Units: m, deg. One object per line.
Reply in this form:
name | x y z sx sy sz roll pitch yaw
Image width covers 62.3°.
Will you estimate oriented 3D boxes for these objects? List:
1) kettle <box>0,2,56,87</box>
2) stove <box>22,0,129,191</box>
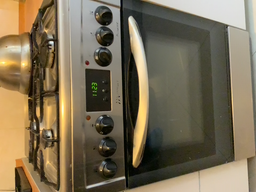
kettle | -0.420 -0.150 0.710 0.290 0.280 0.210 -3 86 58
stove | -0.240 0.000 0.750 0.600 0.190 0.510 -6 85 58
